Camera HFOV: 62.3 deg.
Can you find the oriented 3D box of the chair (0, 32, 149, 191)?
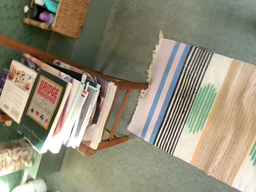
[{"bbox_3d":[-0.280,0.010,0.850,0.440,0.590,0.360,23,99,27],"label":"chair"}]
